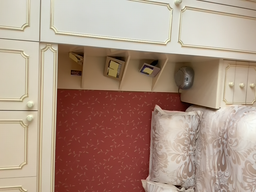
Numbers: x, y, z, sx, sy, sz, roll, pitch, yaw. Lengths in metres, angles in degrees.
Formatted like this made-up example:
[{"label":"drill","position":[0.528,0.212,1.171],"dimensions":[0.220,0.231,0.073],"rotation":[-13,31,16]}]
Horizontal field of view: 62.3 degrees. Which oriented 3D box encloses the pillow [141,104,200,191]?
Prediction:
[{"label":"pillow","position":[0.400,0.460,1.970],"dimensions":[0.230,0.440,0.730],"rotation":[-2,-94,-73]}]
